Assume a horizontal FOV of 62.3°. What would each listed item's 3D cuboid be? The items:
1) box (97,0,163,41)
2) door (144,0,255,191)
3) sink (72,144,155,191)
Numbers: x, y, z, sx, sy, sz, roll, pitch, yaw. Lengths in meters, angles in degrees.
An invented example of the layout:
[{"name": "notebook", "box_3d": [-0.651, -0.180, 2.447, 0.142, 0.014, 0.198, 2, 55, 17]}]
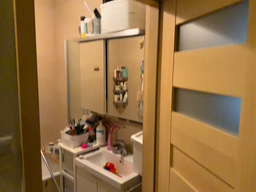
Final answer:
[{"name": "box", "box_3d": [0.010, -0.580, 1.660, 0.400, 0.240, 0.320, 8, 10, 40]}, {"name": "door", "box_3d": [0.280, 0.480, 1.010, 0.090, 1.920, 0.850, -1, 8, -17]}, {"name": "sink", "box_3d": [-0.140, 0.630, 1.880, 0.610, 0.160, 0.420, 8, 11, 41]}]
